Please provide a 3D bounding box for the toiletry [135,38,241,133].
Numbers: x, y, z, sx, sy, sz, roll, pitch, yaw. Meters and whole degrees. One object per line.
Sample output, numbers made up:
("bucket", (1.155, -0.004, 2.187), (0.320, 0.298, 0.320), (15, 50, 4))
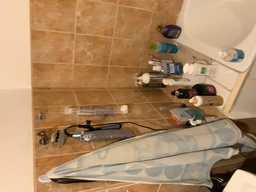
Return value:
("toiletry", (0.320, -0.100, 1.360), (0.580, 0.270, 0.380), (-130, 45, -54))
